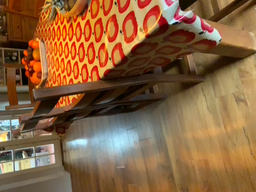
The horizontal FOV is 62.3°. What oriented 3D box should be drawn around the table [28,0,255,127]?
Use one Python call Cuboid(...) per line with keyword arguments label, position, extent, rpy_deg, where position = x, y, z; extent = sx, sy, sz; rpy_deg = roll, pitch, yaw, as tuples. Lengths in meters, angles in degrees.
Cuboid(label="table", position=(-0.130, -0.440, 1.570), extent=(1.750, 0.780, 0.950), rpy_deg=(-28, 70, 53))
